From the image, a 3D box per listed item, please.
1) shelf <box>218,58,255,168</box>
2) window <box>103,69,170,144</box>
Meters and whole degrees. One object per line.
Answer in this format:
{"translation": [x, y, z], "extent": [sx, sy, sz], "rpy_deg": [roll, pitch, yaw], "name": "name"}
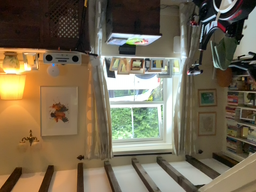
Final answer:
{"translation": [1.840, 0.220, 3.030], "extent": [0.240, 1.500, 1.350], "rpy_deg": [0, -176, -12], "name": "shelf"}
{"translation": [0.150, 0.170, 3.840], "extent": [1.170, 1.260, 0.290], "rpy_deg": [-1, -176, -15], "name": "window"}
